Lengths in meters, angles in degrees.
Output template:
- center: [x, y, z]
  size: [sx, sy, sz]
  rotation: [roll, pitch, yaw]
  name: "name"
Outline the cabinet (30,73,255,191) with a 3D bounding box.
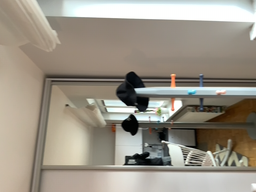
- center: [0.410, 0.760, 2.390]
  size: [0.680, 2.640, 1.860]
  rotation: [93, 178, -73]
  name: "cabinet"
